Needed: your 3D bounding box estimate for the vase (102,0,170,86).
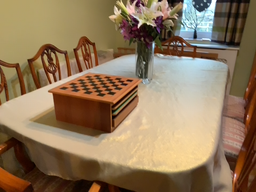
[{"bbox_3d":[0.060,-0.380,1.470,0.360,0.510,0.300,10,24,20],"label":"vase"}]
